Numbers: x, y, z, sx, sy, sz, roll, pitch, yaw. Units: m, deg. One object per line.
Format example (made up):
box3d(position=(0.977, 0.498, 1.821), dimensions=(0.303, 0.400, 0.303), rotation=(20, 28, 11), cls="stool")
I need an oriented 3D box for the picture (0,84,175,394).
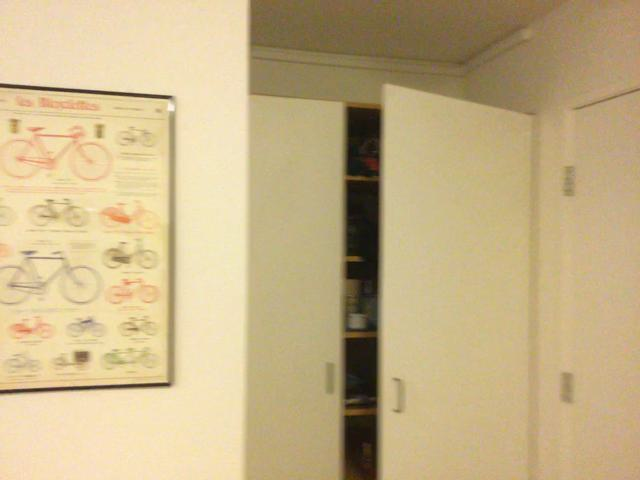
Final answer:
box3d(position=(-0.610, 0.000, 1.350), dimensions=(0.510, 0.700, 0.040), rotation=(1, 0, -11), cls="picture")
